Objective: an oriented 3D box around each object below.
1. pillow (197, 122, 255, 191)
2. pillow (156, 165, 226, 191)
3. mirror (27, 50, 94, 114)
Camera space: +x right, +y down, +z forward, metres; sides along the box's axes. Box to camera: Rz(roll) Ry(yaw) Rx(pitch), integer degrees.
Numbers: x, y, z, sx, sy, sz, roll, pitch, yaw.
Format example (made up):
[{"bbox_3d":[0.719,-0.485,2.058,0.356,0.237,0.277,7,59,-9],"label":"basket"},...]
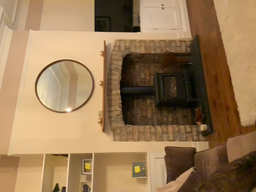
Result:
[{"bbox_3d":[0.570,0.390,1.070,0.210,0.360,0.370,-125,14,-49],"label":"pillow"},{"bbox_3d":[0.480,0.770,1.720,0.150,0.420,0.410,58,170,8],"label":"pillow"},{"bbox_3d":[-0.970,-0.210,3.160,0.200,0.850,0.930,101,169,-72],"label":"mirror"}]
